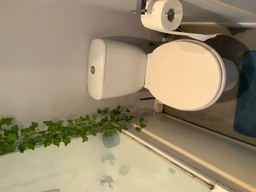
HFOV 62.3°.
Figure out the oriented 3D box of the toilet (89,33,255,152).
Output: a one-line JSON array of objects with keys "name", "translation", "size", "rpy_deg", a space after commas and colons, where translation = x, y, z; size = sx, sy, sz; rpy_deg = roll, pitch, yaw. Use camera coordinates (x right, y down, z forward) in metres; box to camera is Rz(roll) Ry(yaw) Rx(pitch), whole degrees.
[{"name": "toilet", "translation": [0.270, -0.100, 1.220], "size": [0.680, 0.720, 0.410], "rpy_deg": [22, 111, 48]}]
